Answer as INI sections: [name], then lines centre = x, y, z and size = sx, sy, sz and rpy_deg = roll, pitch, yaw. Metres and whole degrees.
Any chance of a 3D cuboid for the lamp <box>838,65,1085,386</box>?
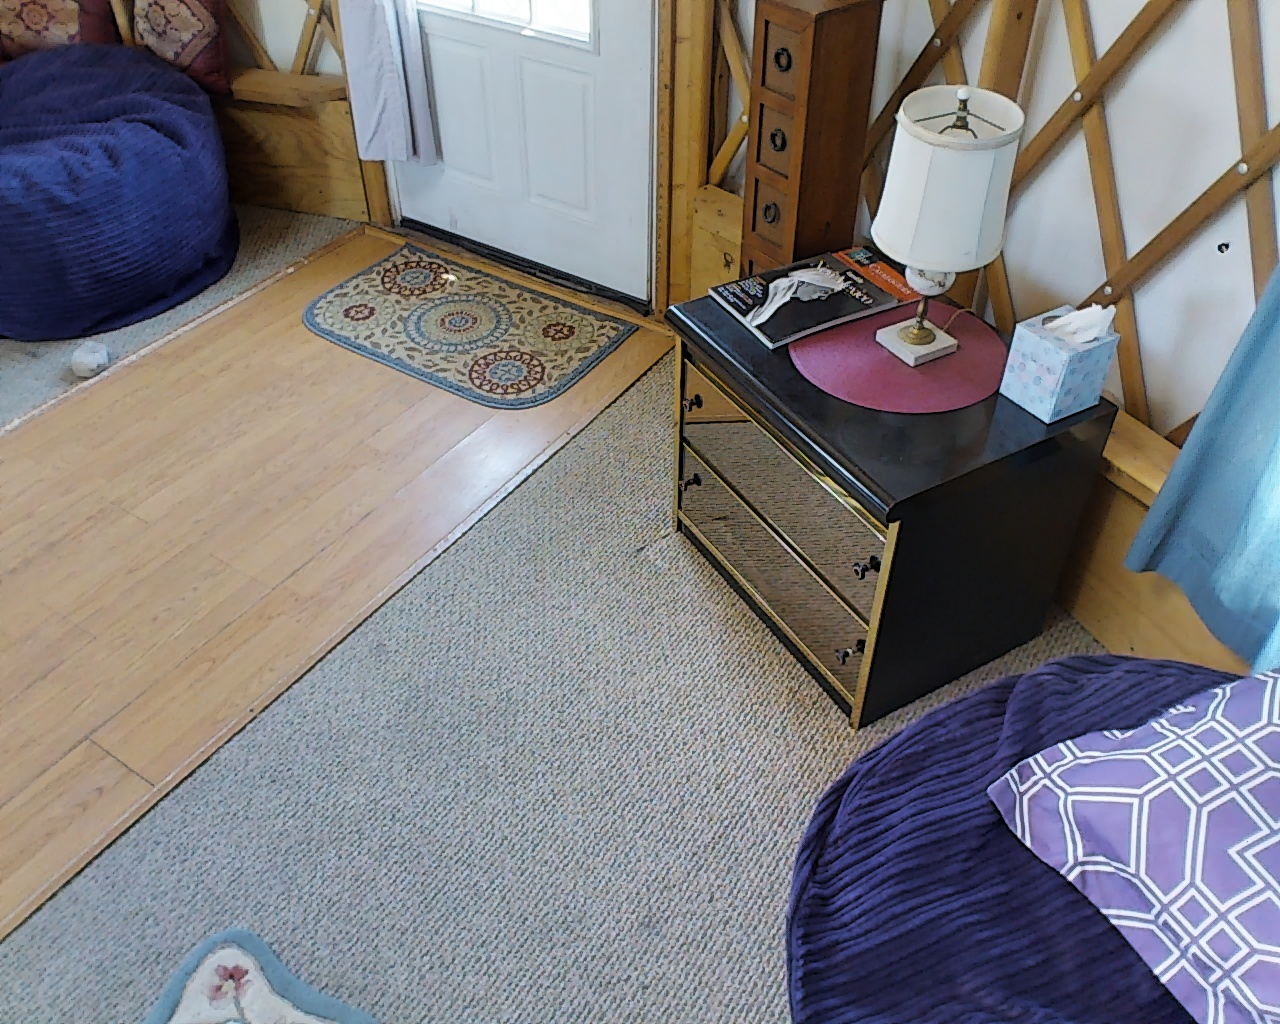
[lamp]
centre = 0.500, -0.460, 1.750
size = 0.290, 0.420, 0.230
rpy_deg = 8, 42, 8
